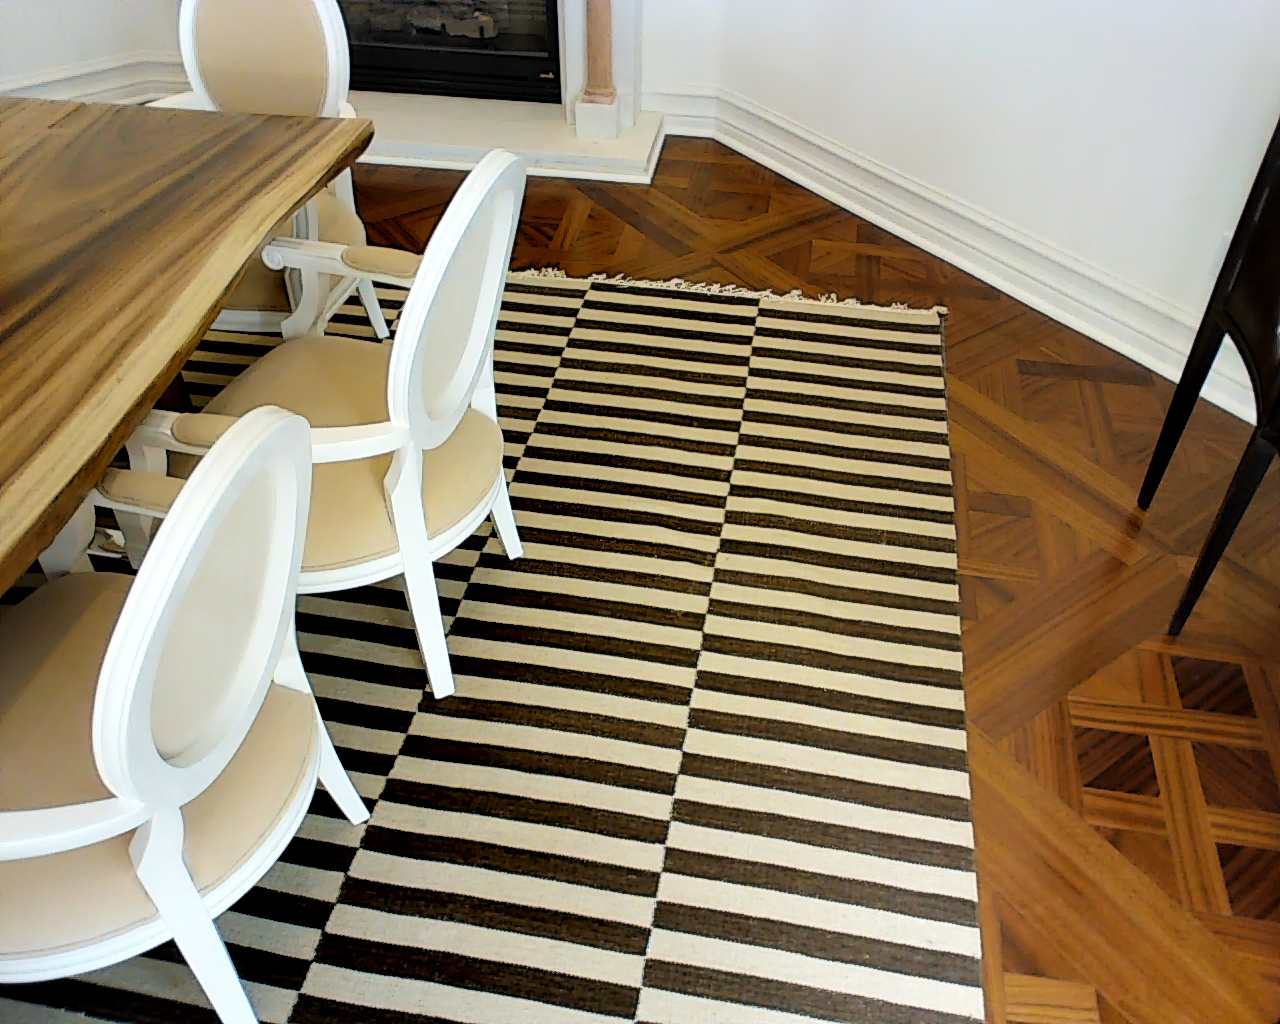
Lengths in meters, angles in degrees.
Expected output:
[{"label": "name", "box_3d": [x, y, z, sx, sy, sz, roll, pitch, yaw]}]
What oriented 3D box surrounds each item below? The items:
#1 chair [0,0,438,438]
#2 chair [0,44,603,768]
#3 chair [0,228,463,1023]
[{"label": "chair", "box_3d": [-0.980, -0.820, 2.690, 0.640, 1.010, 0.670, 7, 42, 7]}, {"label": "chair", "box_3d": [-0.490, -0.180, 1.960, 0.670, 1.030, 0.680, 9, 43, 10]}, {"label": "chair", "box_3d": [-0.710, 0.270, 1.450, 0.650, 1.050, 0.670, 7, 42, 8]}]
